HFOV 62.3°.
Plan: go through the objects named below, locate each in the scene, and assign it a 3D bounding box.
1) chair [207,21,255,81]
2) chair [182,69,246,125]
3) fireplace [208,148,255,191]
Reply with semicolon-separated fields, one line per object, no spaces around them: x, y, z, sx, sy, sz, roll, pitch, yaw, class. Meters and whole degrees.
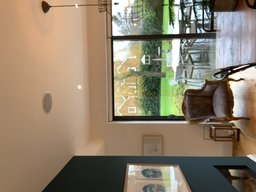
1.410;-0.450;2.290;0.540;0.910;0.570;-54;-36;-85;chair
1.510;0.050;3.910;0.700;0.840;0.880;79;-169;-75;chair
1.270;0.910;2.350;0.930;0.440;0.360;-60;-30;-84;fireplace
